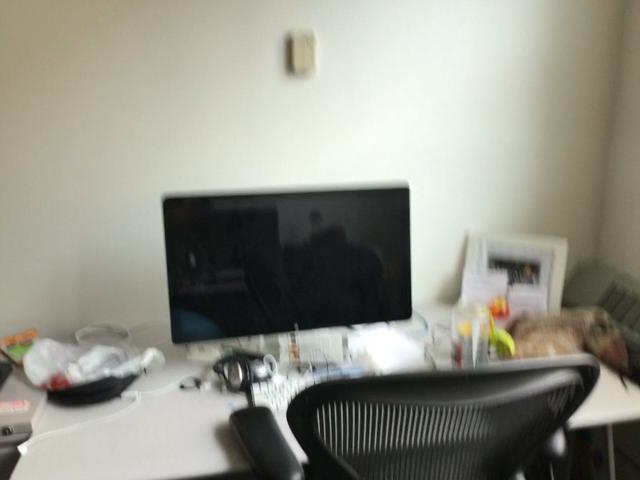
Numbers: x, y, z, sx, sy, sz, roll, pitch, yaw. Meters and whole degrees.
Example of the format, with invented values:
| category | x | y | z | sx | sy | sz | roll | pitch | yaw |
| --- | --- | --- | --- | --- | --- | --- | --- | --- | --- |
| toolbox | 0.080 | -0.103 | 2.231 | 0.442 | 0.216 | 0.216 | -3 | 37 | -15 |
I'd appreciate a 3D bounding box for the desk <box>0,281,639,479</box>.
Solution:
| category | x | y | z | sx | sy | sz | roll | pitch | yaw |
| --- | --- | --- | --- | --- | --- | --- | --- | --- | --- |
| desk | 0.100 | 0.650 | 1.620 | 1.590 | 0.670 | 0.770 | -7 | 15 | -11 |
